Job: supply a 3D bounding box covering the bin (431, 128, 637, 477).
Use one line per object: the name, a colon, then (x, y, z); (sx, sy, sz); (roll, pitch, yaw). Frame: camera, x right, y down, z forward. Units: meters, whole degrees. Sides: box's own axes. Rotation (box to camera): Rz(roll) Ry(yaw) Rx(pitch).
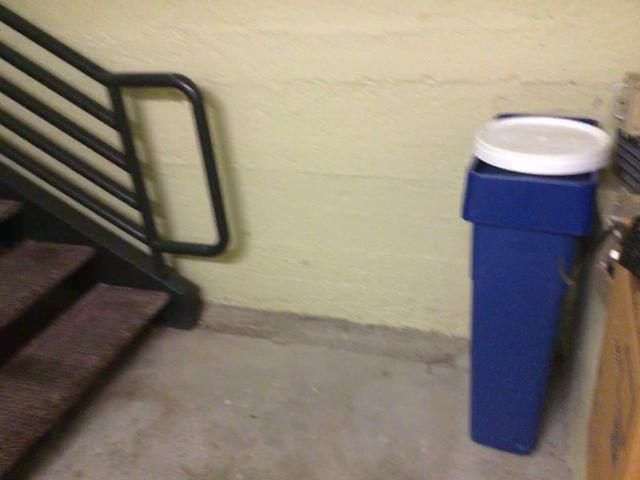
bin: (0.520, 0.170, 1.530); (0.350, 0.840, 0.320); (7, 29, 16)
